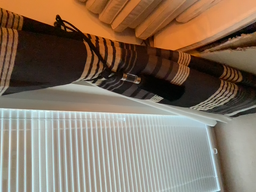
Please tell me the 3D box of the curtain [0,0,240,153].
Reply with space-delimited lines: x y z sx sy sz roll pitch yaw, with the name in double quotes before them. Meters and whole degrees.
"curtain" -0.410 -0.120 0.300 0.310 1.720 0.400 -25 67 45
